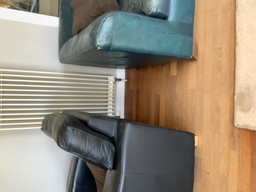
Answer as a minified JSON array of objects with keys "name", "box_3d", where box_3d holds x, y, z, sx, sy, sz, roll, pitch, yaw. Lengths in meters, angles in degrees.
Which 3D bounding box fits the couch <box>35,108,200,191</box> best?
[{"name":"couch","box_3d":[-0.160,0.600,1.600,0.980,0.890,0.980,-1,88,61]}]
